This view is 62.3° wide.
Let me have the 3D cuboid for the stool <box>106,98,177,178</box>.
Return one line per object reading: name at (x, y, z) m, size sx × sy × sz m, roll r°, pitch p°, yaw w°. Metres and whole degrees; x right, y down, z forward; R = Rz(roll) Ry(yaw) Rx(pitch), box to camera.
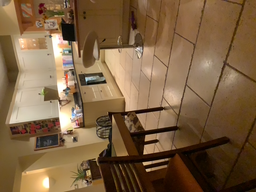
stool at (0.120, 0.500, 2.660) m, size 0.560 × 0.670 × 0.680 m, roll -119°, pitch 28°, yaw -53°
